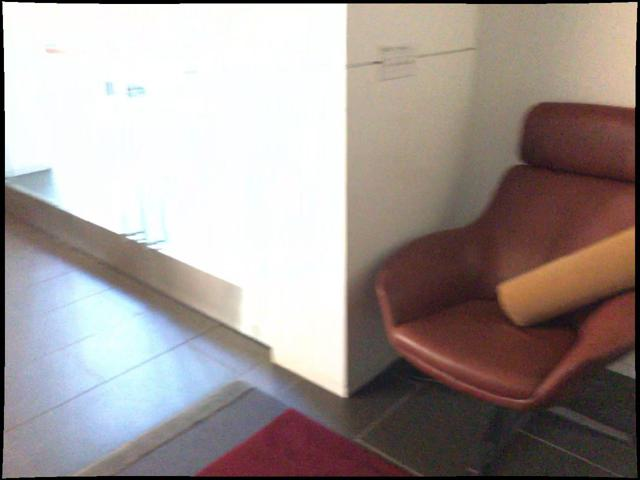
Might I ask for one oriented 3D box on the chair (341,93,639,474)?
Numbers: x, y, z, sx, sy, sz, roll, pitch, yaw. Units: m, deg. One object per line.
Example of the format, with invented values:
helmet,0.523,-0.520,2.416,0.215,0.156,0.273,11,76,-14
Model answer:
chair,0.748,0.000,1.980,0.929,0.762,0.959,17,32,38
